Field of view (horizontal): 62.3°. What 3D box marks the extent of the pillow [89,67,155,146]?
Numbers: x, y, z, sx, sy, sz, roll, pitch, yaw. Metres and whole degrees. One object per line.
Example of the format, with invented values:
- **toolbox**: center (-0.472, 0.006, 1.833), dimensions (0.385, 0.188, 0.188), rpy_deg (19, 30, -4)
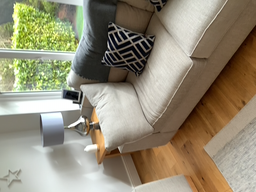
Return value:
- **pillow**: center (-0.090, 0.060, 1.950), dimensions (0.710, 0.350, 0.250), rpy_deg (65, 146, 37)
